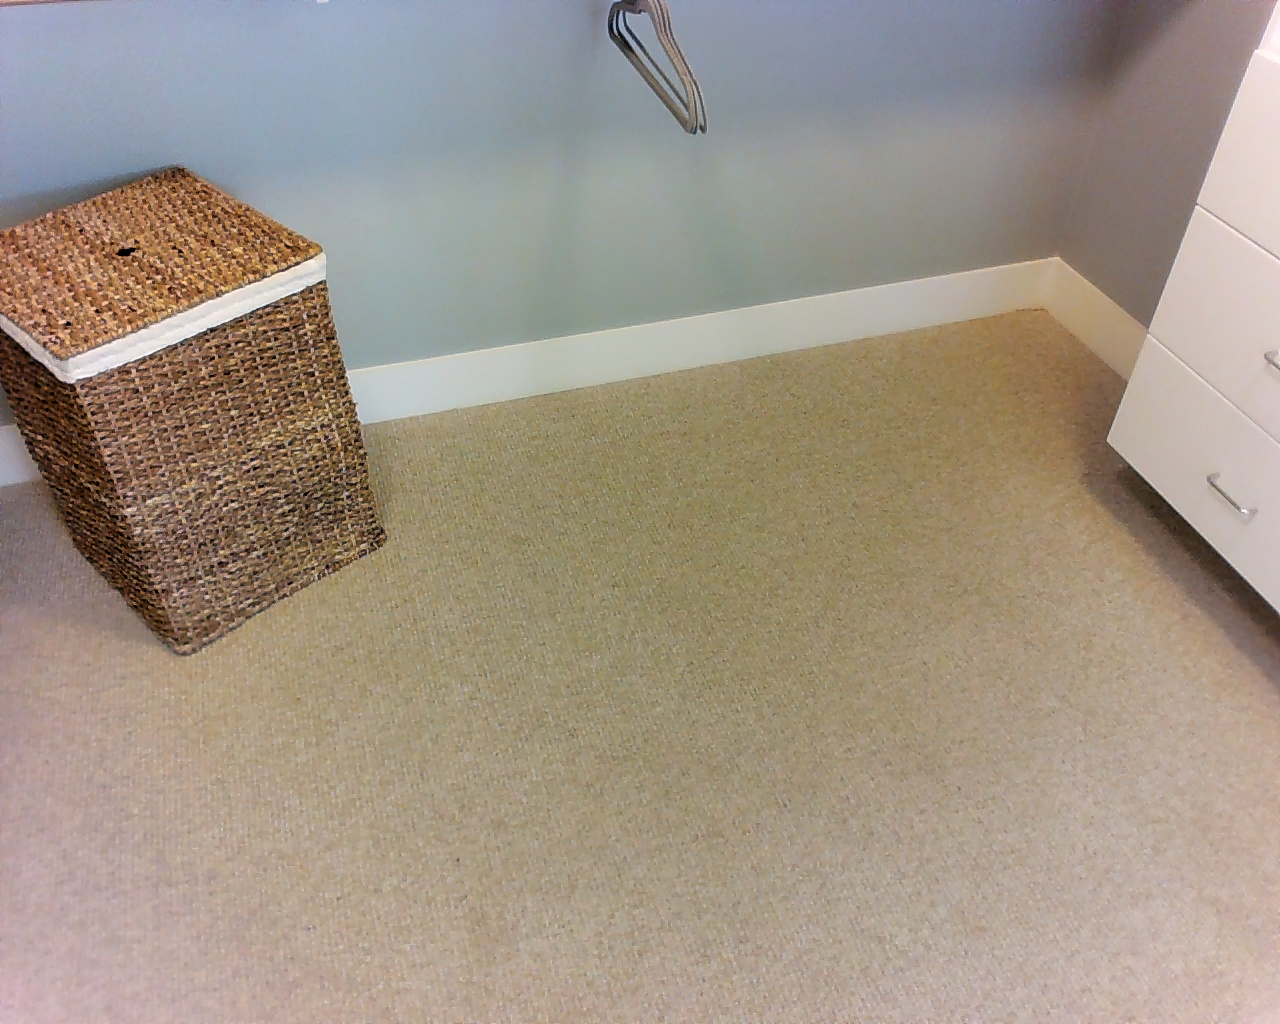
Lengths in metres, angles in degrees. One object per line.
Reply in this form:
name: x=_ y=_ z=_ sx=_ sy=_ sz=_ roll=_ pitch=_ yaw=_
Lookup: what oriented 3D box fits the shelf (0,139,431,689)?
shelf: x=-0.850 y=-0.210 z=2.010 sx=0.630 sy=0.660 sz=0.560 roll=33 pitch=50 yaw=32
